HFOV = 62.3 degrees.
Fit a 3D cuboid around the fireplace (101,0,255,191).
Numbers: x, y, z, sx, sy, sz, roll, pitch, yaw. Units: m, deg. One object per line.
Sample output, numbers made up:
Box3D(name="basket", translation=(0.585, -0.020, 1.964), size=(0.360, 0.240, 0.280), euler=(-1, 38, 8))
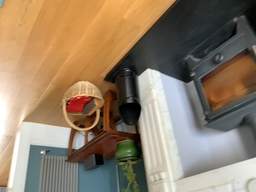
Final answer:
Box3D(name="fireplace", translation=(0.680, 0.040, 1.340), size=(0.870, 1.300, 1.790), euler=(16, 143, -33))
